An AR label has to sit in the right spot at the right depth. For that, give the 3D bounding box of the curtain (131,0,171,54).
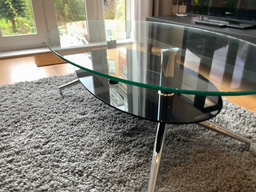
[{"bbox_3d":[0.250,-1.710,2.090,0.350,2.530,0.300,-12,29,-22],"label":"curtain"}]

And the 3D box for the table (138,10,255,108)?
[{"bbox_3d":[0.690,-0.410,1.680,0.580,0.390,1.490,-12,29,-23],"label":"table"}]
